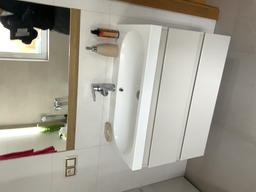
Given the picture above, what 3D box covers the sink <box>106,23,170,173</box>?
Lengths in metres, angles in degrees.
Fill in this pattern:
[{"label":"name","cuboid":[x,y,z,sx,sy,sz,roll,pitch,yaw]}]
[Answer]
[{"label":"sink","cuboid":[0.020,-0.010,1.280,0.400,0.100,0.810,32,120,56]}]
